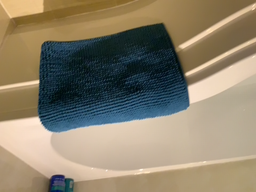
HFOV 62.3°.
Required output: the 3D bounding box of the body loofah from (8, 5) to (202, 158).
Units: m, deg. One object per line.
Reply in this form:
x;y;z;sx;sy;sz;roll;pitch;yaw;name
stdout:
-0.060;-0.040;0.800;0.510;0.370;0.350;-8;143;2;body loofah
